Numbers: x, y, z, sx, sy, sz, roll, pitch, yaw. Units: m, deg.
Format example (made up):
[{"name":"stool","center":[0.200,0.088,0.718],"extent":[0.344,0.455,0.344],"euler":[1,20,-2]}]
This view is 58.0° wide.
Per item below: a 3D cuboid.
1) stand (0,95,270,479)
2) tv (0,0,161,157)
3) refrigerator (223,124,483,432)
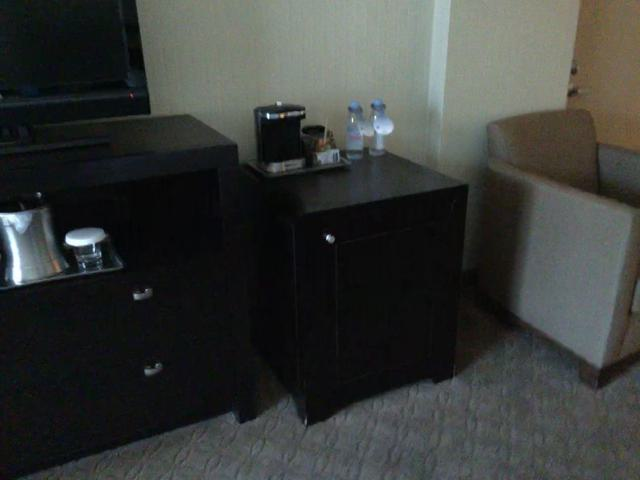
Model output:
[{"name":"stand","center":[-0.840,0.170,1.790],"extent":[1.160,1.010,0.570],"euler":[-13,26,-22]},{"name":"tv","center":[-0.860,-0.530,1.480],"extent":[0.770,0.600,0.190],"euler":[-13,26,-22]},{"name":"refrigerator","center":[0.100,0.080,2.170],"extent":[0.670,0.830,0.650],"euler":[-13,26,-22]}]
